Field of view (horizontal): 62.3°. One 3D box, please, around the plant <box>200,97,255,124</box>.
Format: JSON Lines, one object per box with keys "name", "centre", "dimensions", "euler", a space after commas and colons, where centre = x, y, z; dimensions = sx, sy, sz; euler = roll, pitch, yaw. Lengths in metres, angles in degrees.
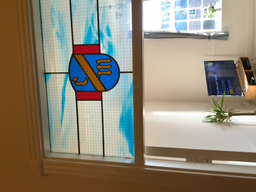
{"name": "plant", "centre": [1.990, 0.240, 3.670], "dimensions": [0.730, 1.330, 0.290], "euler": [-38, -53, -74]}
